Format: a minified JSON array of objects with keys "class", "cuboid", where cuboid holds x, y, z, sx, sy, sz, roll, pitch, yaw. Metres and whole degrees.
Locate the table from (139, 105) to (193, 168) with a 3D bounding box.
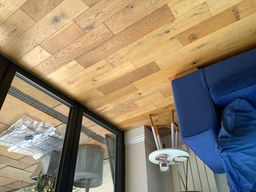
[{"class":"table","cuboid":[0.400,0.450,2.300,0.380,0.470,0.440,-21,139,26]}]
